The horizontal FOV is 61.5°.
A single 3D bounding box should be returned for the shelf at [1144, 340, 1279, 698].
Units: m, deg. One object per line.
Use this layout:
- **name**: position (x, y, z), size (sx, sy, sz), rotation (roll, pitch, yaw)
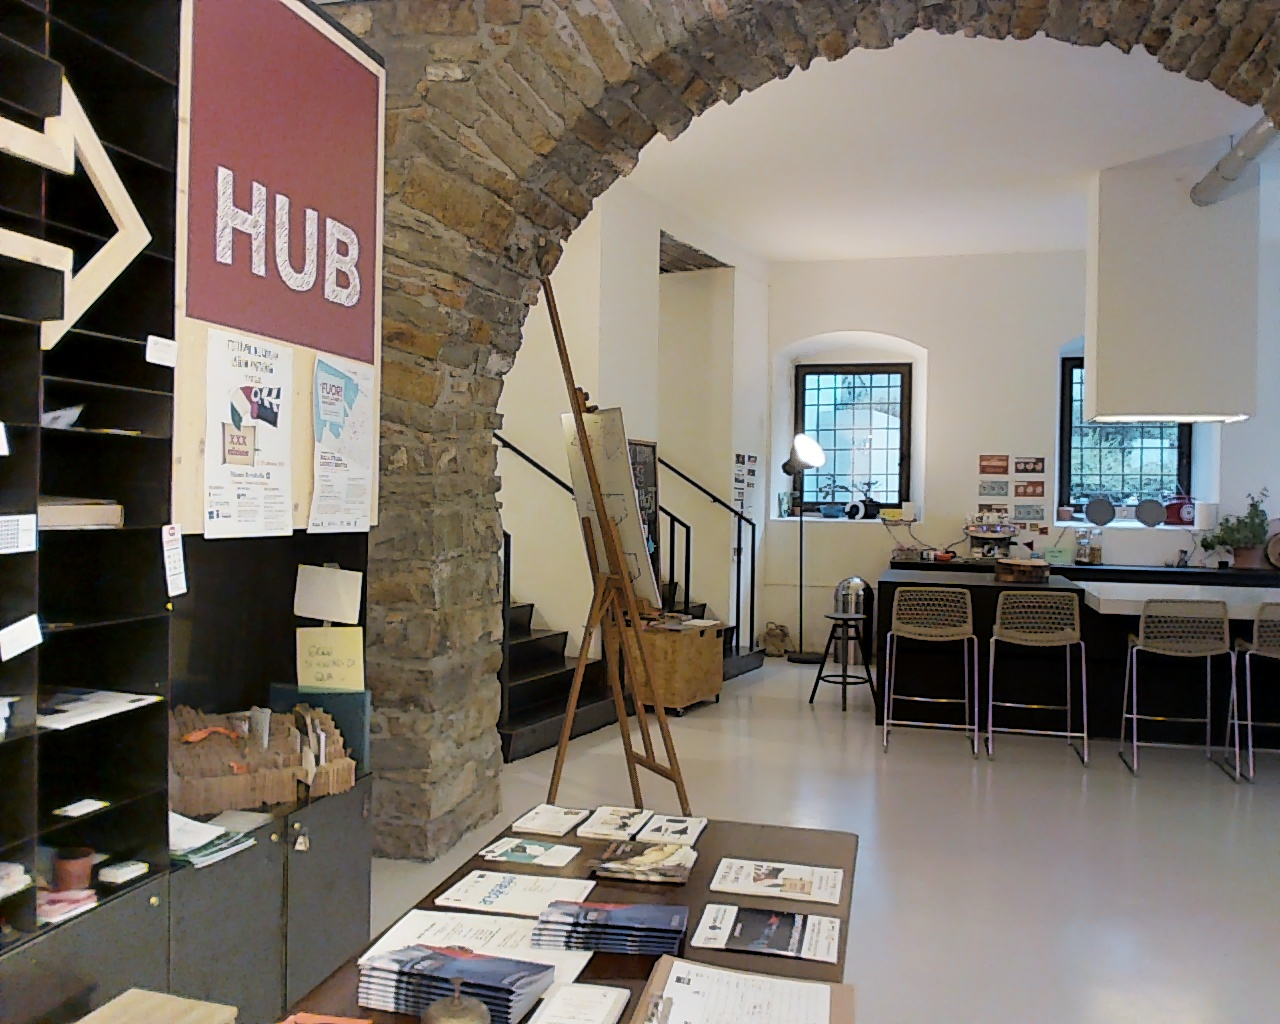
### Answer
- **shelf**: position (5.308, 0.060, 7.760), size (0.640, 2.751, 4.580), rotation (1, 1, -7)
